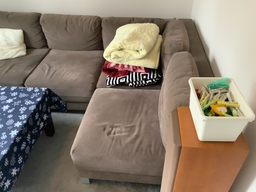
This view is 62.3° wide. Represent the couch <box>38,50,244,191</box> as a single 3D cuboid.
[{"bbox_3d":[0.100,0.250,1.510,0.970,0.820,0.720,8,39,10],"label":"couch"}]

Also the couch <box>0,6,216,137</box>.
[{"bbox_3d":[-0.870,-0.390,2.330,3.150,0.800,1.120,4,39,6],"label":"couch"}]
